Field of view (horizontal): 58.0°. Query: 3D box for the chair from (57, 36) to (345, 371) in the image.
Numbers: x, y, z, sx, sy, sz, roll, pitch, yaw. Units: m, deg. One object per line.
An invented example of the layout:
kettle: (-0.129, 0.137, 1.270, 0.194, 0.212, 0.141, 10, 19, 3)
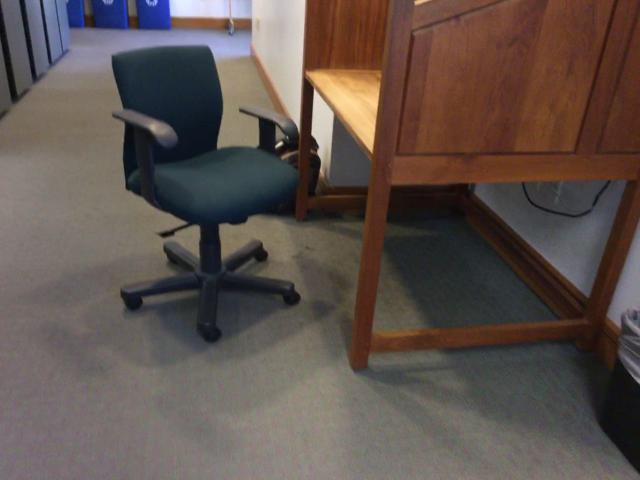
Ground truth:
chair: (-0.410, -0.190, 2.110, 0.660, 0.920, 0.660, 26, 35, 35)
